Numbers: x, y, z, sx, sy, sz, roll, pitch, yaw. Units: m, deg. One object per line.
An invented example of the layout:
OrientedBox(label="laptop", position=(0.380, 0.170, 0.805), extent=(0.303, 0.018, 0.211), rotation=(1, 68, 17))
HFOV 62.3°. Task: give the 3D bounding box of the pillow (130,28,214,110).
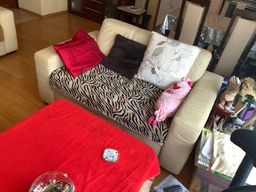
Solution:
OrientedBox(label="pillow", position=(0.390, -0.270, 1.930), extent=(0.520, 0.450, 0.450), rotation=(26, 39, 20))

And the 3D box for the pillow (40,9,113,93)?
OrientedBox(label="pillow", position=(-0.440, -0.390, 1.970), extent=(0.180, 0.490, 0.580), rotation=(26, 83, 23))

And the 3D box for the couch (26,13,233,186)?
OrientedBox(label="couch", position=(0.010, -0.120, 1.990), extent=(1.480, 0.730, 0.950), rotation=(25, 38, 19))
